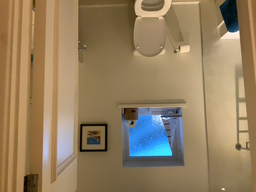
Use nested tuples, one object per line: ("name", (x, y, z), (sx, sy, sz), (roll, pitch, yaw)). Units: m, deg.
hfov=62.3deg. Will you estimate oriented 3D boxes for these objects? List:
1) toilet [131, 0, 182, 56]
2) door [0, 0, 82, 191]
("toilet", (0.250, -0.900, 2.220), (0.420, 0.760, 0.690), (-1, 174, 0))
("door", (-0.390, -0.370, 1.200), (0.140, 2.100, 0.980), (-1, 174, -6))
